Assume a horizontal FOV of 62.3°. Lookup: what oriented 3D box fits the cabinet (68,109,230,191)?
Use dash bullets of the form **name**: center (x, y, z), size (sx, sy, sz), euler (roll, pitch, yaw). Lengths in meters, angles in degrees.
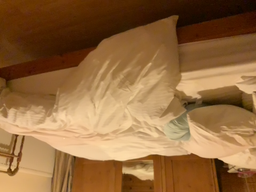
- **cabinet**: center (0.210, 1.370, 2.540), size (1.890, 2.180, 0.520), euler (-8, 153, 18)
